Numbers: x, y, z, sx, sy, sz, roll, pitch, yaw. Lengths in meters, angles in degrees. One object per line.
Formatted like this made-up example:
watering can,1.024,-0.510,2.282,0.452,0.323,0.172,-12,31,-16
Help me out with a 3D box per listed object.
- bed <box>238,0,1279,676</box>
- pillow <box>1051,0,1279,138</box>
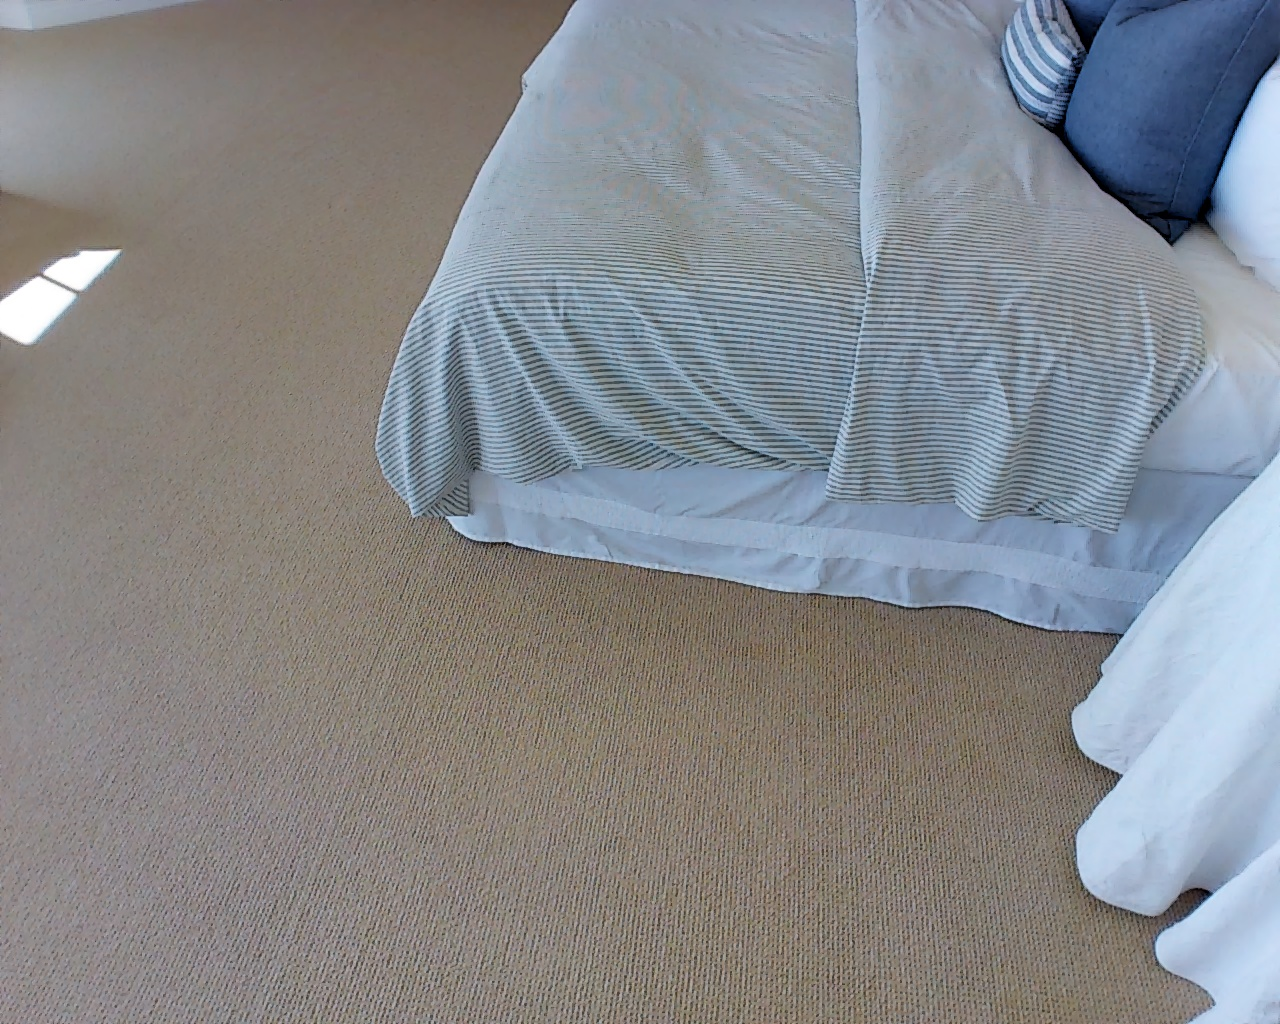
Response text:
bed,0.760,-1.130,2.370,2.430,1.860,2.090,7,42,5
pillow,1.090,-0.930,2.090,0.320,0.360,0.410,0,20,-12
